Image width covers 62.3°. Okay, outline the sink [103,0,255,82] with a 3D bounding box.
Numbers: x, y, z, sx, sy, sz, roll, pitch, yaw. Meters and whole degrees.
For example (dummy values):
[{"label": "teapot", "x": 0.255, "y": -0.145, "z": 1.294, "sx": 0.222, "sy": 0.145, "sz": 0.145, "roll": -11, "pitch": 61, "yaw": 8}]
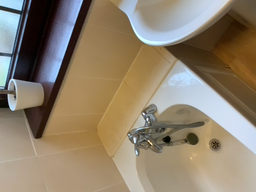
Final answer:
[{"label": "sink", "x": 0.210, "y": -0.390, "z": 0.580, "sx": 0.430, "sy": 0.190, "sz": 0.540, "roll": 54, "pitch": 126, "yaw": 33}]
